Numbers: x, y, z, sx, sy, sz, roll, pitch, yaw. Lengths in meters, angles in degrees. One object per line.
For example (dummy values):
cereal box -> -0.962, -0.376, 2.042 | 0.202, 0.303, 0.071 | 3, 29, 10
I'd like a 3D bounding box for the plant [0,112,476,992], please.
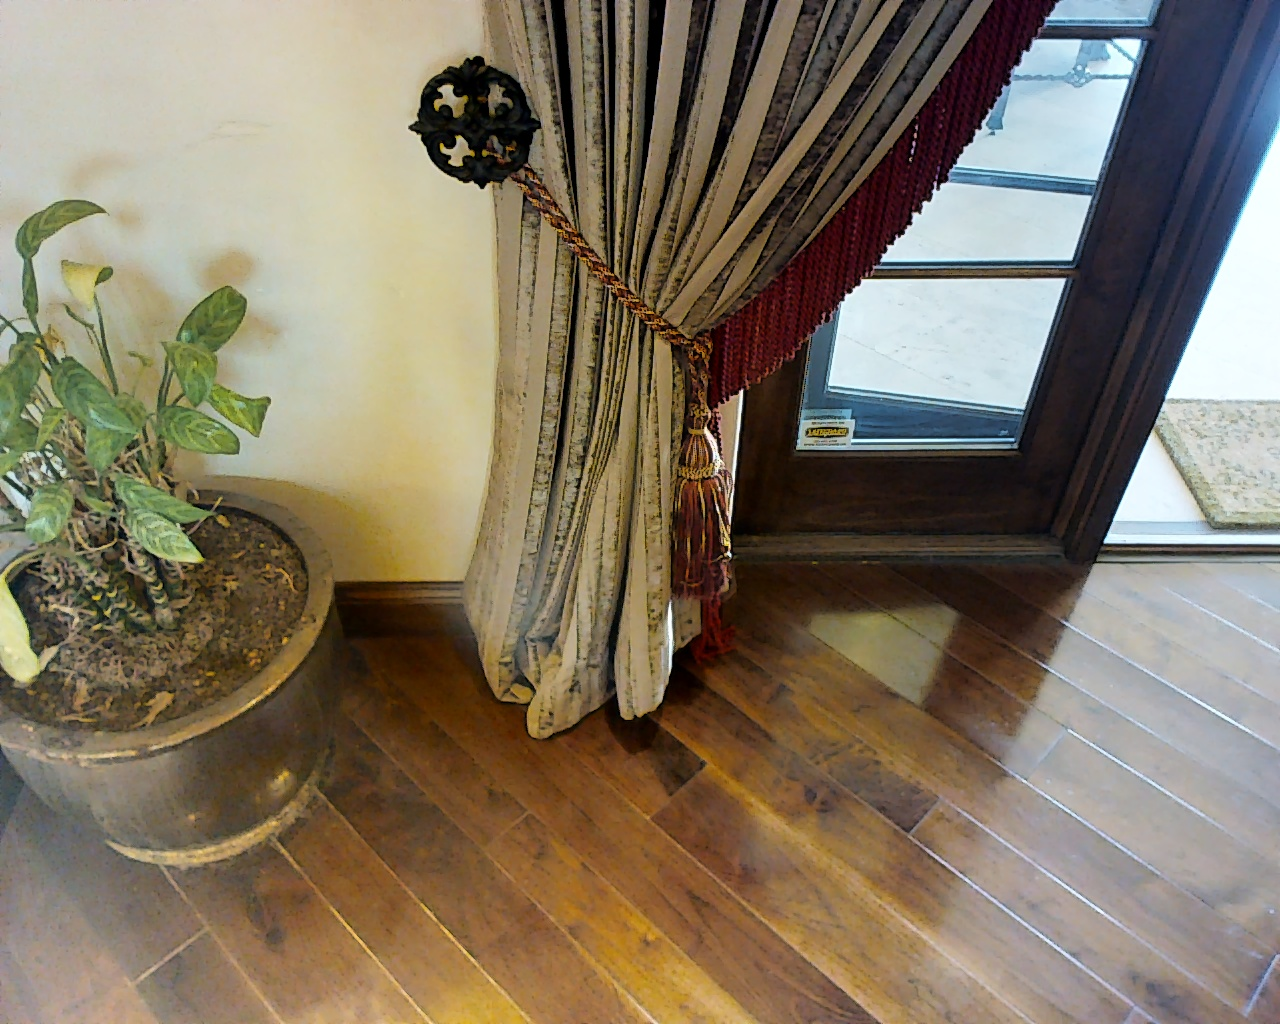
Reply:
plant -> -0.670, 0.080, 1.480 | 0.600, 0.980, 0.550 | 16, 45, 16
